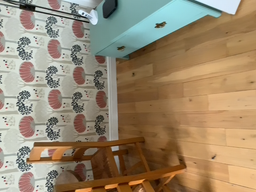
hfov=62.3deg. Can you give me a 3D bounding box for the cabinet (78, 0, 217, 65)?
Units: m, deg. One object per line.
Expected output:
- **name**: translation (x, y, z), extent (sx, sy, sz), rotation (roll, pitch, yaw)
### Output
- **cabinet**: translation (0.030, -0.780, 1.980), extent (1.400, 0.470, 0.630), rotation (-10, 81, 55)
